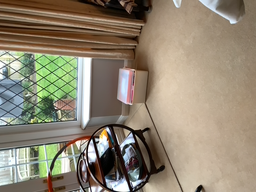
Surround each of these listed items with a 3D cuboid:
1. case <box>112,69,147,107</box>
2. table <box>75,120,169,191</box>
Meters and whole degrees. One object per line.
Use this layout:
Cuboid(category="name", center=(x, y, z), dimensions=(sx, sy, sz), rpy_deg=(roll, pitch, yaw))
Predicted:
Cuboid(category="case", center=(0.010, -0.100, 2.480), dimensions=(0.300, 0.240, 0.380), rpy_deg=(27, 115, 54))
Cuboid(category="table", center=(-0.090, 0.660, 2.230), dimensions=(0.710, 0.720, 0.310), rpy_deg=(63, 140, 34))
